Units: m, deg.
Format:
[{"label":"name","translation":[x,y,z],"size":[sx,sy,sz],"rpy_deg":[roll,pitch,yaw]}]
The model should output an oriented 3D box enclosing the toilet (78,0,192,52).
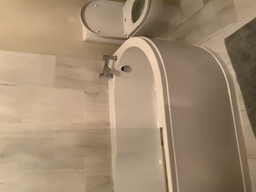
[{"label":"toilet","translation":[0.030,-0.780,1.970],"size":[0.610,0.840,0.430],"rpy_deg":[153,116,-61]}]
